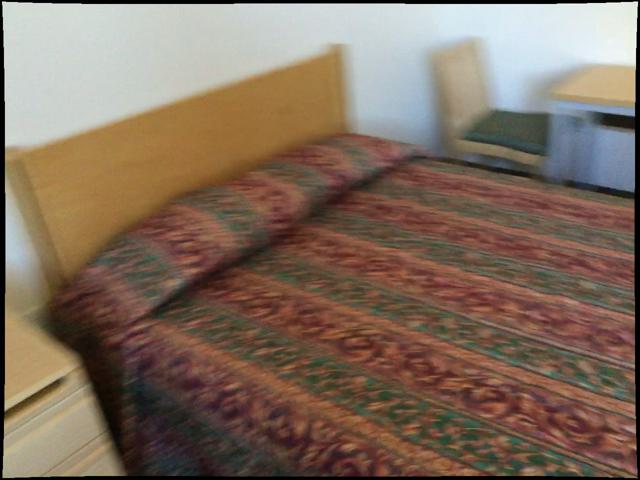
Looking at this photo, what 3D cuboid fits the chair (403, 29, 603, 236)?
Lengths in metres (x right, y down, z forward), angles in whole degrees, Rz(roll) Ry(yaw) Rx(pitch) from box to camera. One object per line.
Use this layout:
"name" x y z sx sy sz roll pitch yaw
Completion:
"chair" 0.939 -0.611 3.090 0.780 0.841 0.580 20 38 36

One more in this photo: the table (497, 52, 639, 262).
"table" 1.498 -0.390 2.680 1.079 0.721 0.650 19 38 36

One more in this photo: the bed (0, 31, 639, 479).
"bed" 0.430 0.170 1.650 2.239 0.991 1.860 19 38 36
